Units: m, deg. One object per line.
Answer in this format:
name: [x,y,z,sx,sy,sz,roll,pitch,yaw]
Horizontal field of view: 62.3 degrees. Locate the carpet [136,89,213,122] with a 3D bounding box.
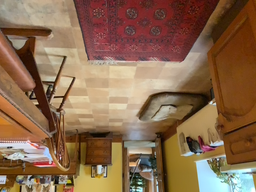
carpet: [0.570,0.180,3.020,0.740,0.110,1.140,1,159,-7]
